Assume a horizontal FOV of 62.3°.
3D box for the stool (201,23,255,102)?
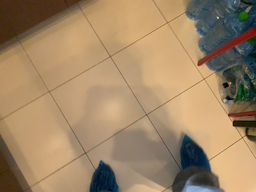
[{"bbox_3d":[0.500,-0.140,0.780,0.160,0.490,0.240,-32,86,-6],"label":"stool"}]
